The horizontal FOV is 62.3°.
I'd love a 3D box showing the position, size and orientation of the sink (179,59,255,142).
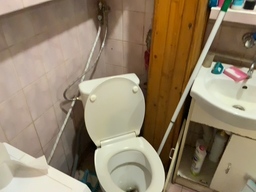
[{"bbox_3d":[0.580,0.010,1.090,0.520,0.140,0.430,16,39,19],"label":"sink"}]
